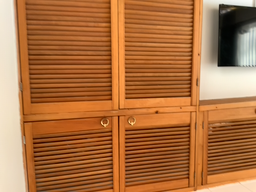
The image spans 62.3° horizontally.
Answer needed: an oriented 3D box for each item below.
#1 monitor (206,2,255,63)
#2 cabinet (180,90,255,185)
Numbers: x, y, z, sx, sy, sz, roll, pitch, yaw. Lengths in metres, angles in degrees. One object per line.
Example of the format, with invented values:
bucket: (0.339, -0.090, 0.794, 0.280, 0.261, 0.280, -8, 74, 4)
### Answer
monitor: (1.130, -0.550, 1.920, 0.890, 0.490, 0.090, -3, -172, -15)
cabinet: (1.190, 0.320, 1.980, 1.350, 0.700, 0.340, -3, -172, -13)
